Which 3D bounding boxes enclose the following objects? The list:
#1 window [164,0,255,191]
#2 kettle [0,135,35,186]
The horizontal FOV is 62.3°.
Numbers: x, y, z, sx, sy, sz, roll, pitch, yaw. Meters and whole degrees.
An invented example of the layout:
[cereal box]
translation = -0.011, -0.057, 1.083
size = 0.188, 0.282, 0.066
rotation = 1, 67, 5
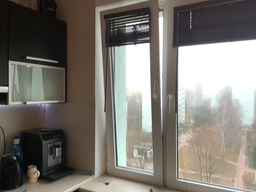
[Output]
[window]
translation = 0.700, 0.000, 1.390
size = 0.890, 1.420, 0.190
rotation = 1, 1, 31
[kettle]
translation = -0.870, 0.480, 1.630
size = 0.230, 0.310, 0.170
rotation = 1, 3, 29
